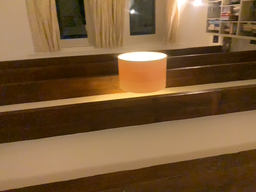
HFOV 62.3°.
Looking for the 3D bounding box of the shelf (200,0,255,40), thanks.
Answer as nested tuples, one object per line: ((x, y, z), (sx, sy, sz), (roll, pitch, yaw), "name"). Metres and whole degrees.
((1.760, -1.460, 3.590), (0.240, 0.870, 1.460), (-6, -160, -11), "shelf")
